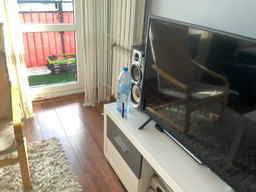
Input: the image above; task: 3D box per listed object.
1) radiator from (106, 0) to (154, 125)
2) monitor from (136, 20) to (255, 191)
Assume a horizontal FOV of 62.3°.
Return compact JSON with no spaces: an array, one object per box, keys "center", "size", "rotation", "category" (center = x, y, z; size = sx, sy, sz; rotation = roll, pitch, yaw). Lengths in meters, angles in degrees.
[{"center":[-0.030,-0.410,2.130],"size":[0.190,1.290,0.540],"rotation":[-9,30,-25],"category":"radiator"},{"center":[0.340,0.070,0.890],"size":[0.070,0.600,0.980],"rotation":[-14,32,-27],"category":"monitor"}]
